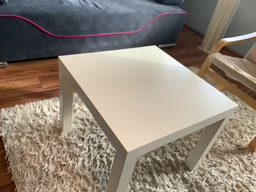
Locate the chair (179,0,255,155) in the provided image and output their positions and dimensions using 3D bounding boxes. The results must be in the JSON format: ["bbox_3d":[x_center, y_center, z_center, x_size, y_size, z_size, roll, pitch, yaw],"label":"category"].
[{"bbox_3d":[0.970,-0.270,1.380,0.760,0.980,0.610,-12,44,-30],"label":"chair"}]
